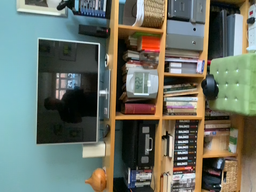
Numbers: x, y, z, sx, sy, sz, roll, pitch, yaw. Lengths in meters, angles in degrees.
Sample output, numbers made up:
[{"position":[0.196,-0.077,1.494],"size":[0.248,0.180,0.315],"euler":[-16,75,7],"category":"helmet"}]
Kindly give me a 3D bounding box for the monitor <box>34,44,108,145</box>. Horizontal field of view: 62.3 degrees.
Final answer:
[{"position":[-0.400,0.000,1.520],"size":[0.060,0.470,0.680],"euler":[-169,82,-74],"category":"monitor"}]
